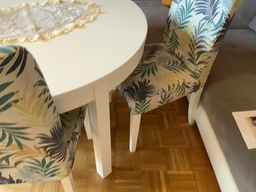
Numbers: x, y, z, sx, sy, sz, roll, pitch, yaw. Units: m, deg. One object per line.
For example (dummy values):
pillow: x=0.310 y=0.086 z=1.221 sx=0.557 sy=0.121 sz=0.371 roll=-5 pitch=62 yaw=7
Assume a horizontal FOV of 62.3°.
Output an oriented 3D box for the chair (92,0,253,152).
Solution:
chair: x=0.170 y=-0.220 z=1.270 sx=0.590 sy=0.960 sz=0.480 roll=-17 pitch=48 yaw=-20

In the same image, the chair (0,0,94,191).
chair: x=-0.440 y=0.100 z=0.890 sx=0.520 sy=0.980 sz=0.540 roll=-4 pitch=45 yaw=-7
